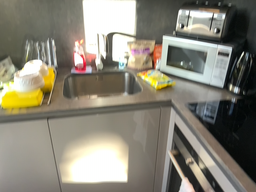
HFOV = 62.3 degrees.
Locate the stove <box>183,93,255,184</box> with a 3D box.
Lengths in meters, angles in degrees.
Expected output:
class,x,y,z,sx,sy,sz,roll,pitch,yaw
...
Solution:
class,x,y,z,sx,sy,sz,roll,pitch,yaw
stove,0.620,0.150,0.930,0.520,0.020,0.610,-5,29,-12
